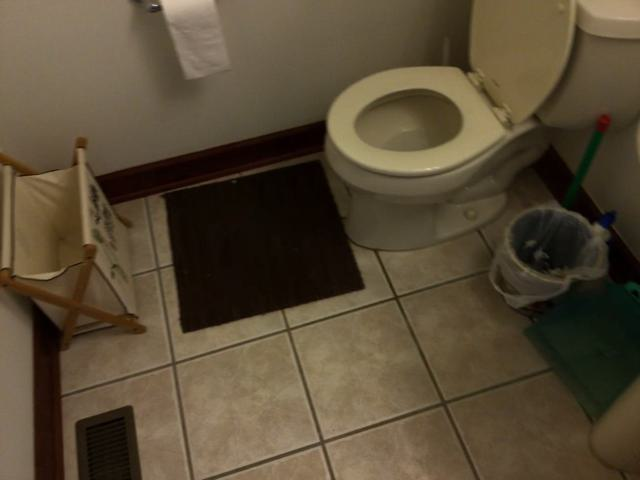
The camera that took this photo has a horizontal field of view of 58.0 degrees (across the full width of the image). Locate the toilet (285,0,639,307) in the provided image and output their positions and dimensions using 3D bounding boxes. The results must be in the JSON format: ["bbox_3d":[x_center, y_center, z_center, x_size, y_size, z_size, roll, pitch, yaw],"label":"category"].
[{"bbox_3d":[0.330,-0.330,1.380,0.680,0.770,0.490,-16,54,-7],"label":"toilet"}]

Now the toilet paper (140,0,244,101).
[{"bbox_3d":[-0.300,-0.480,1.370,0.180,0.240,0.110,-16,54,-7],"label":"toilet paper"}]

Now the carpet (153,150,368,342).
[{"bbox_3d":[-0.190,-0.010,1.660,0.510,0.040,0.510,-16,54,-7],"label":"carpet"}]
